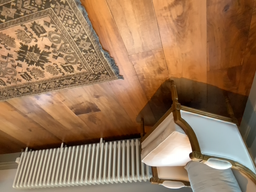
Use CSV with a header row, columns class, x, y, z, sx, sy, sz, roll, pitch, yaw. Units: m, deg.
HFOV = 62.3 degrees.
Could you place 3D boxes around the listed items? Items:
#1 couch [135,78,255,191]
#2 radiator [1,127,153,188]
class,x,y,z,sx,sy,sz,roll,pitch,yaw
couch,0.520,0.510,1.650,0.720,0.940,0.700,12,144,-16
radiator,-0.580,0.710,2.380,1.670,0.510,0.170,-8,145,12
